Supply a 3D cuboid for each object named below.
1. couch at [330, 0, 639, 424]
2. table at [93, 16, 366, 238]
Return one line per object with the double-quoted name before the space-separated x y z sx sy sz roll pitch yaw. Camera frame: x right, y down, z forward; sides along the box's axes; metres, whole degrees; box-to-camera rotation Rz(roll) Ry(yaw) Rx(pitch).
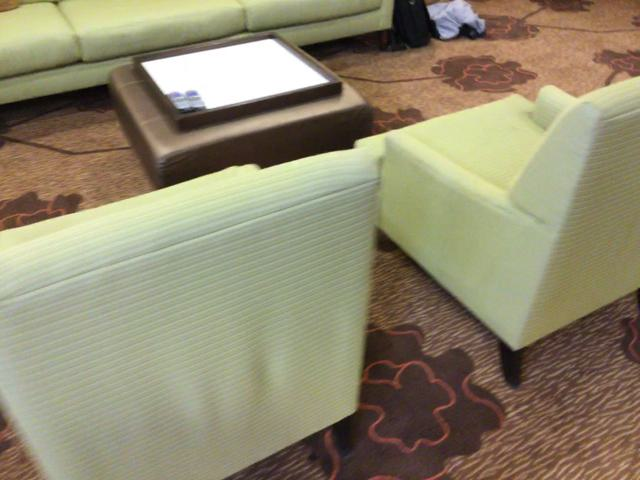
"couch" 0.590 -0.220 1.770 0.760 0.900 0.950 -18 42 -20
"table" -0.400 -0.550 2.530 0.890 0.470 0.820 -18 42 -20
